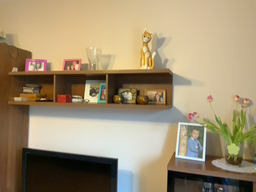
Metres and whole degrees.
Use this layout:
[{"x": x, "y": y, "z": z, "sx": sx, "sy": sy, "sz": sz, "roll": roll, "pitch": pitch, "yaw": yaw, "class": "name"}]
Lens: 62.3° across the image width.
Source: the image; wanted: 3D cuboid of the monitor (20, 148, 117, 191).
[{"x": -0.530, "y": 0.790, "z": 1.790, "sx": 0.910, "sy": 0.620, "sz": 0.050, "roll": 0, "pitch": -2, "yaw": 18, "class": "monitor"}]
